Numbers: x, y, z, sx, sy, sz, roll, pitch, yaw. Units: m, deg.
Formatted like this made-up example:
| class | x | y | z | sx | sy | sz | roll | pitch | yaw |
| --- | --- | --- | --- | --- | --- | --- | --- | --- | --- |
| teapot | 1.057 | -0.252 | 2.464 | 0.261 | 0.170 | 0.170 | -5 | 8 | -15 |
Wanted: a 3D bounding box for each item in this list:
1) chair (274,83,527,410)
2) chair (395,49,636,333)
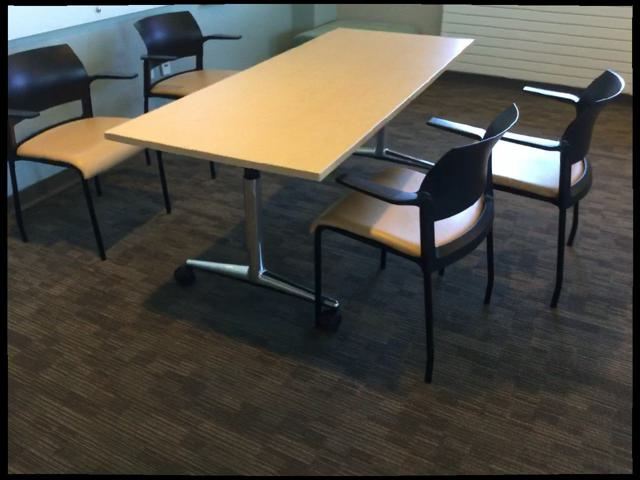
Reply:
| class | x | y | z | sx | sy | sz | roll | pitch | yaw |
| --- | --- | --- | --- | --- | --- | --- | --- | --- | --- |
| chair | 0.269 | -0.020 | 1.900 | 0.509 | 0.761 | 0.640 | 18 | 36 | 28 |
| chair | 0.729 | -0.230 | 2.230 | 0.619 | 0.791 | 0.630 | 18 | 36 | 28 |
